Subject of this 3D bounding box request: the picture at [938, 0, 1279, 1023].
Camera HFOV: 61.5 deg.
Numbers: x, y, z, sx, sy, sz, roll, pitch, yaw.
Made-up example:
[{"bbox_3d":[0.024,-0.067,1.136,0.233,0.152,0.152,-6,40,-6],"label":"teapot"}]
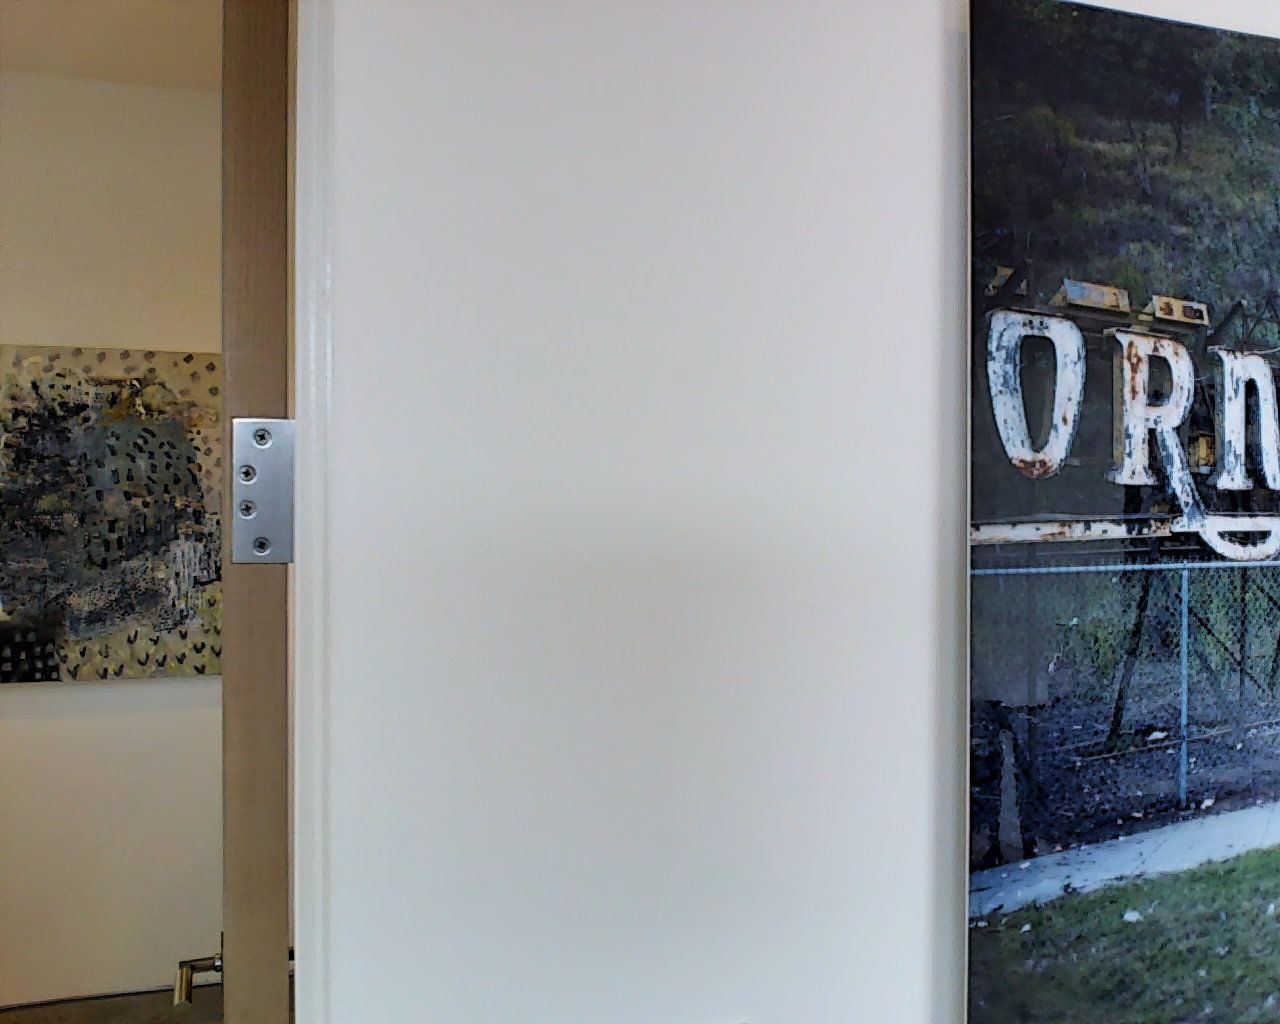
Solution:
[{"bbox_3d":[0.590,0.010,0.850,0.800,0.850,0.030,0,1,-18],"label":"picture"}]
